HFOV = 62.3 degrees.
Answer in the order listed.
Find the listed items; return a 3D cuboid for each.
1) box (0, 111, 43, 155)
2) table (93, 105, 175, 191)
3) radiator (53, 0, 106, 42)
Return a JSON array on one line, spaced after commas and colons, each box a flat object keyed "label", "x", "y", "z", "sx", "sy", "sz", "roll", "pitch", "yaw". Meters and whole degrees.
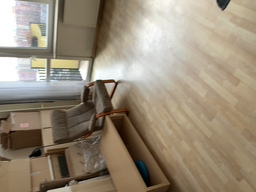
[{"label": "box", "x": -2.030, "y": 0.670, "z": 4.010, "sx": 0.560, "sy": 0.730, "sz": 0.500, "roll": 49, "pitch": 134, "yaw": 50}, {"label": "table", "x": -0.040, "y": 0.810, "z": 2.890, "sx": 1.450, "sy": 0.390, "sz": 0.660, "roll": 51, "pitch": 136, "yaw": 49}, {"label": "radiator", "x": -0.820, "y": -1.630, "z": 3.700, "sx": 0.190, "sy": 0.810, "sz": 1.360, "roll": 60, "pitch": 142, "yaw": 42}]
